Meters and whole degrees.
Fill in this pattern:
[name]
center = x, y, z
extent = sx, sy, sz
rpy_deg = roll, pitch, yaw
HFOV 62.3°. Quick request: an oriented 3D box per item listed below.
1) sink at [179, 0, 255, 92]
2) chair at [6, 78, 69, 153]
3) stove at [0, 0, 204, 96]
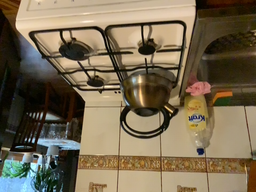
[sink]
center = 0.430, -0.170, 0.790
extent = 0.420, 0.160, 0.410
rpy_deg = -1, 159, 7
[chair]
center = -1.280, 0.310, 3.120
extent = 0.430, 0.950, 0.580
rpy_deg = -4, 159, 15
[stove]
center = -0.040, -0.180, 0.820
extent = 0.510, 0.150, 0.600
rpy_deg = -1, 159, 7
